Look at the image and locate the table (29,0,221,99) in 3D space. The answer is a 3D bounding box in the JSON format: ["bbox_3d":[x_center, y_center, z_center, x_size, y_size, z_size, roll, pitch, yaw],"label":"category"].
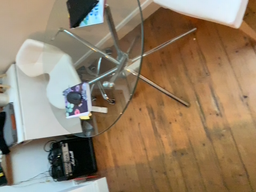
[{"bbox_3d":[-0.030,-0.380,1.410,0.830,0.850,0.630,-18,78,42],"label":"table"}]

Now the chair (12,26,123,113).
[{"bbox_3d":[-0.530,-0.190,1.920,0.450,0.770,0.530,-28,71,40],"label":"chair"}]
